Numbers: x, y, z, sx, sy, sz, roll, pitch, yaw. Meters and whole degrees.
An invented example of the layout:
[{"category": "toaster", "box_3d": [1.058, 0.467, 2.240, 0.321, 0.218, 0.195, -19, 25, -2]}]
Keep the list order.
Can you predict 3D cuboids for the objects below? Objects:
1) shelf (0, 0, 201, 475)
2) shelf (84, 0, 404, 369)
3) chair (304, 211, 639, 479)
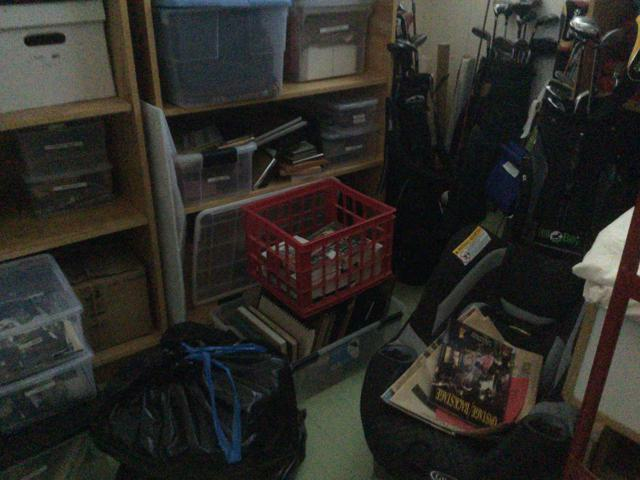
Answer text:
[{"category": "shelf", "box_3d": [-0.970, -0.110, 1.570, 0.950, 1.300, 0.700, -19, 33, -33]}, {"category": "shelf", "box_3d": [-0.240, -0.360, 2.120, 0.890, 1.300, 0.550, -19, 33, -33]}, {"category": "chair", "box_3d": [0.430, 0.330, 1.470, 0.710, 0.470, 0.620, -19, 33, -33]}]
